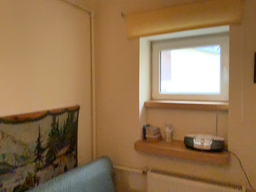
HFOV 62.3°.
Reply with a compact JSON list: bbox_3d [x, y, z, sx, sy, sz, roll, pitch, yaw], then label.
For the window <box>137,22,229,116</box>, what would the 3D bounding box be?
[{"bbox_3d":[0.540,-0.250,2.160,0.860,0.810,0.280,2,4,28],"label":"window"}]
